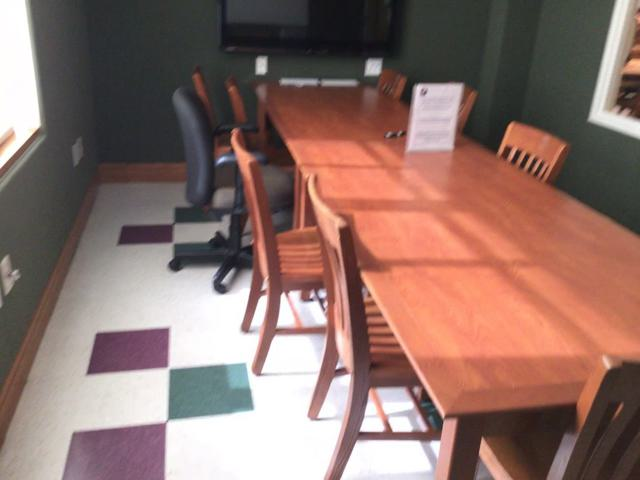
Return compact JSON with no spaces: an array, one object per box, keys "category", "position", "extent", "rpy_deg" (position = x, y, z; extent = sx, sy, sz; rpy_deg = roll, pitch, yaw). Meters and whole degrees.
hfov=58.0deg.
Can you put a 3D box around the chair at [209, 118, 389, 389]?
[{"category":"chair","position":[-0.120,0.020,2.300],"extent":[0.560,0.880,0.580],"rpy_deg":[-4,25,-13]}]

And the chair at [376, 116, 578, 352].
[{"category":"chair","position":[0.630,-0.050,2.540],"extent":[0.570,0.870,0.520],"rpy_deg":[-4,25,-12]}]

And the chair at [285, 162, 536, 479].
[{"category":"chair","position":[0.200,0.270,1.770],"extent":[0.530,0.880,0.520],"rpy_deg":[-4,25,-13]}]

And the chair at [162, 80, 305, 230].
[{"category":"chair","position":[-0.430,-0.440,2.770],"extent":[0.580,0.530,0.670],"rpy_deg":[-4,25,-13]}]
